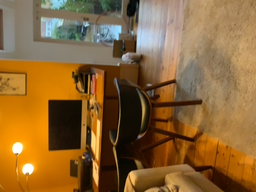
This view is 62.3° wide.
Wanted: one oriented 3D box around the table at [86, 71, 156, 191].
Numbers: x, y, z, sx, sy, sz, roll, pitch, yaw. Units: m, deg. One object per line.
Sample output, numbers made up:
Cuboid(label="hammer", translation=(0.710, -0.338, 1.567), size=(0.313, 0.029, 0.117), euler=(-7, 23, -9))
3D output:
Cuboid(label="table", translation=(-0.140, 0.520, 2.830), size=(0.590, 0.700, 1.620), euler=(-152, 64, -68))

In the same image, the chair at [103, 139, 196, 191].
Cuboid(label="chair", translation=(0.170, 0.670, 1.910), size=(0.430, 0.690, 0.380), euler=(-155, 66, -68))
